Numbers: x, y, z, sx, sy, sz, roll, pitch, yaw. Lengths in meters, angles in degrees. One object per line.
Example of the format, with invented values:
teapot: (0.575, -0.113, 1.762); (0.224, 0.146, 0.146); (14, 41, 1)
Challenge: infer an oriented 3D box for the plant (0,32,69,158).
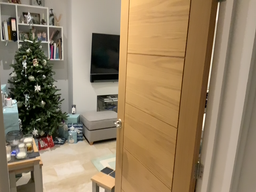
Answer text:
plant: (-1.460, -0.070, 3.210); (0.920, 1.650, 0.720); (-5, 15, -29)

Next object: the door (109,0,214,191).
door: (0.090, 0.280, 1.340); (0.070, 2.110, 0.750); (-5, 16, -30)
